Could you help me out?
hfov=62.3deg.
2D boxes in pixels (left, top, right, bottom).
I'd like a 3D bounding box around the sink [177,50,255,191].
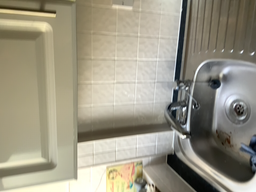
[{"bbox_3d":[0.400,0.070,0.790,0.420,0.170,0.450,-147,57,-64],"label":"sink"}]
